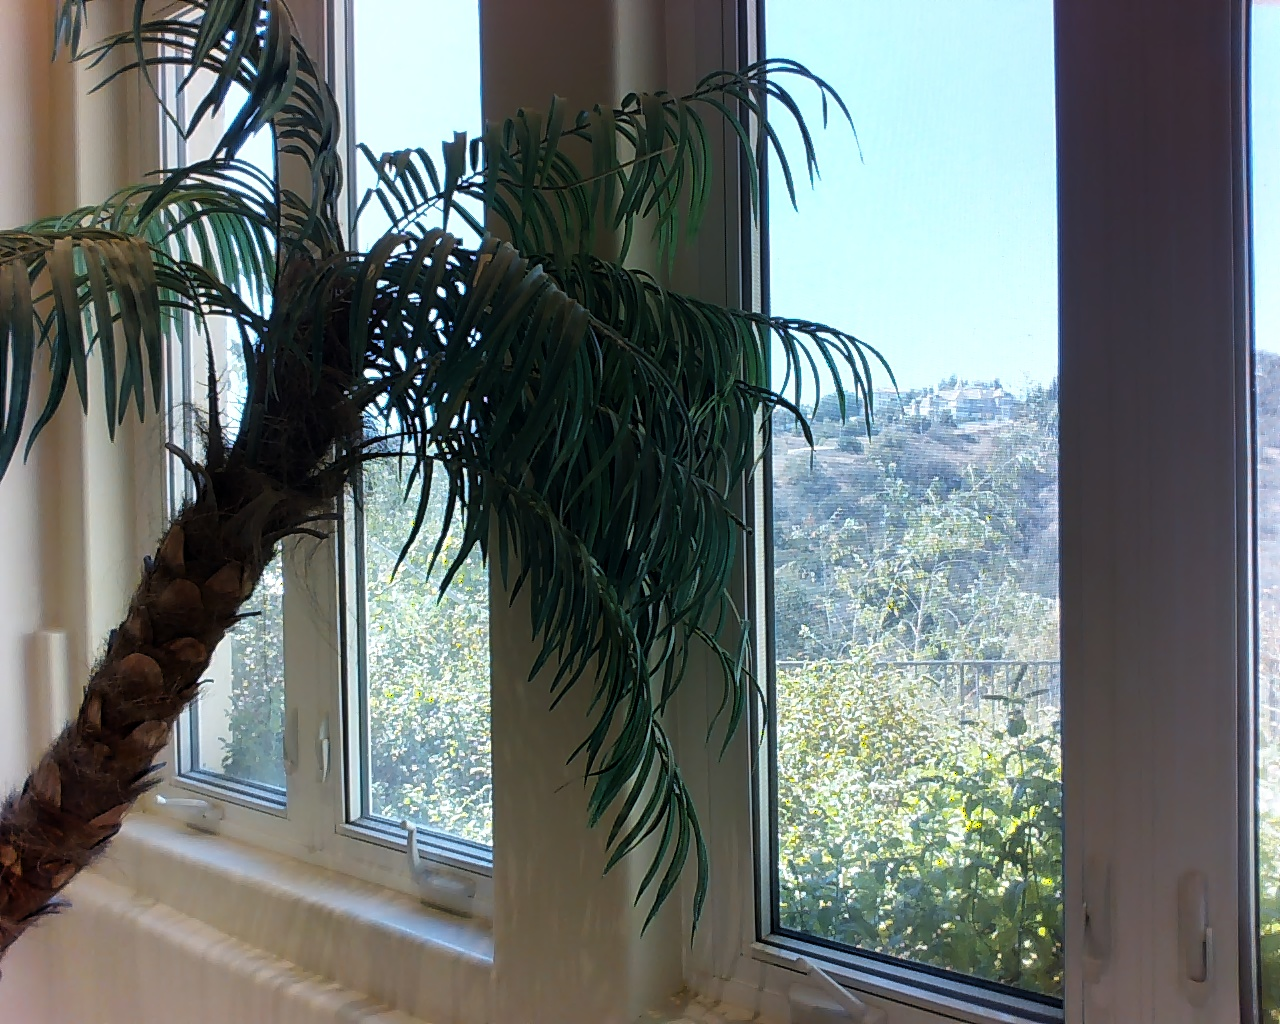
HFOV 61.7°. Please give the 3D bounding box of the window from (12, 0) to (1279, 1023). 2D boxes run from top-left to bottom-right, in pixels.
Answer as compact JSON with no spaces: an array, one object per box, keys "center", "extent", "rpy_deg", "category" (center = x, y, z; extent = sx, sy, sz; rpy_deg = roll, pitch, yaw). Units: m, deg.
[{"center":[-0.140,-0.260,1.490],"extent":[2.690,2.100,0.240],"rpy_deg":[0,1,37],"category":"window"}]
